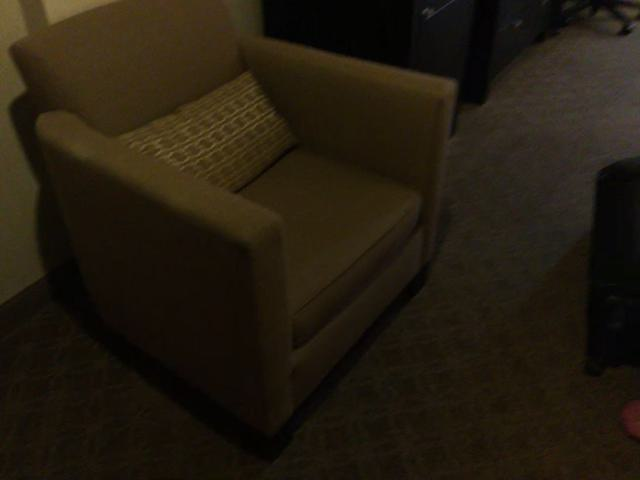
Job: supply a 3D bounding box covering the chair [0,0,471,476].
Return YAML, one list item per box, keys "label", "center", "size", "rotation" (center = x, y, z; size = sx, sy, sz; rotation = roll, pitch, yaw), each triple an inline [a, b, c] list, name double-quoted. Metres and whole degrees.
- label: "chair"
  center: [-0.210, -0.140, 1.570]
  size: [0.840, 0.870, 0.850]
  rotation: [22, 46, 28]

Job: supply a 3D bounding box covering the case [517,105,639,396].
- label: "case"
  center: [1.030, 0.030, 1.650]
  size: [0.600, 0.420, 0.770]
  rotation: [22, 46, 28]
